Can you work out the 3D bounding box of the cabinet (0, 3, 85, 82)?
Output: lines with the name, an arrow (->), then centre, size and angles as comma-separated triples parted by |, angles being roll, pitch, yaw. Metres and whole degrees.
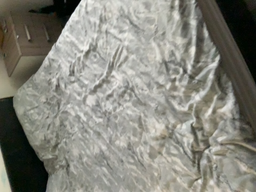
cabinet -> -0.990, -0.550, 2.330 | 0.640, 0.670, 0.510 | -29, 78, 47
